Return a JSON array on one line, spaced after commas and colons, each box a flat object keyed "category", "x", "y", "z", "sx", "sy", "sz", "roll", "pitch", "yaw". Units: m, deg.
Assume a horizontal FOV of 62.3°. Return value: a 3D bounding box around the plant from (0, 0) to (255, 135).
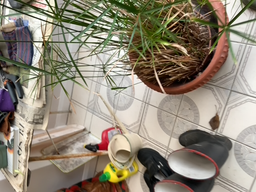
[{"category": "plant", "x": -0.050, "y": -0.240, "z": 0.600, "sx": 0.530, "sy": 1.140, "sz": 0.440, "roll": 10, "pitch": 99, "yaw": 38}]
